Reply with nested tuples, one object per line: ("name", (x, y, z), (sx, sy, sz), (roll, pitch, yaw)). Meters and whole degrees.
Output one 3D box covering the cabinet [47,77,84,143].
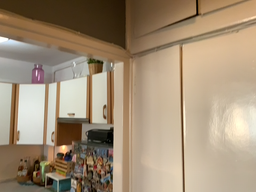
("cabinet", (-0.730, 0.160, 2.480), (0.250, 0.710, 0.310), (-4, -6, 44))
